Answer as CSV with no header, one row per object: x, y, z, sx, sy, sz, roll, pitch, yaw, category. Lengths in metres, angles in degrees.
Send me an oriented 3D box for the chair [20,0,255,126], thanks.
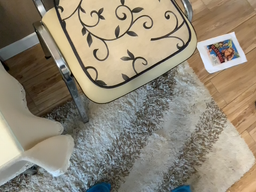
-0.050,-0.290,0.790,0.500,0.800,0.550,-32,85,-15,chair
